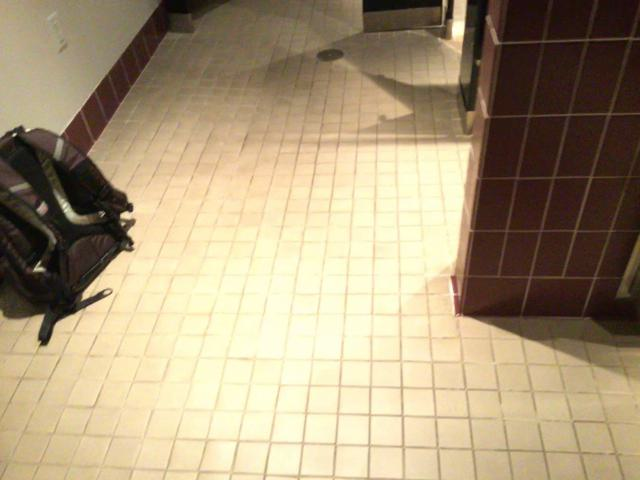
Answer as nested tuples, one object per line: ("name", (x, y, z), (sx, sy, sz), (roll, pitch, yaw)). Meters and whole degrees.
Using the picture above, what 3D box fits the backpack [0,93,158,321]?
("backpack", (-0.810, -0.110, 1.700), (0.370, 0.450, 0.450), (8, 43, 16))
